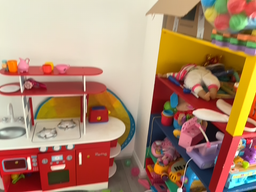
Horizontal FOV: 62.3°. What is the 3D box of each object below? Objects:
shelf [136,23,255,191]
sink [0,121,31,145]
[{"bbox_3d":[0.730,0.240,1.490,1.020,1.290,0.790,-2,25,-17],"label":"shelf"},{"bbox_3d":[-0.860,0.270,1.540,0.250,0.080,0.170,-1,24,-15],"label":"sink"}]
